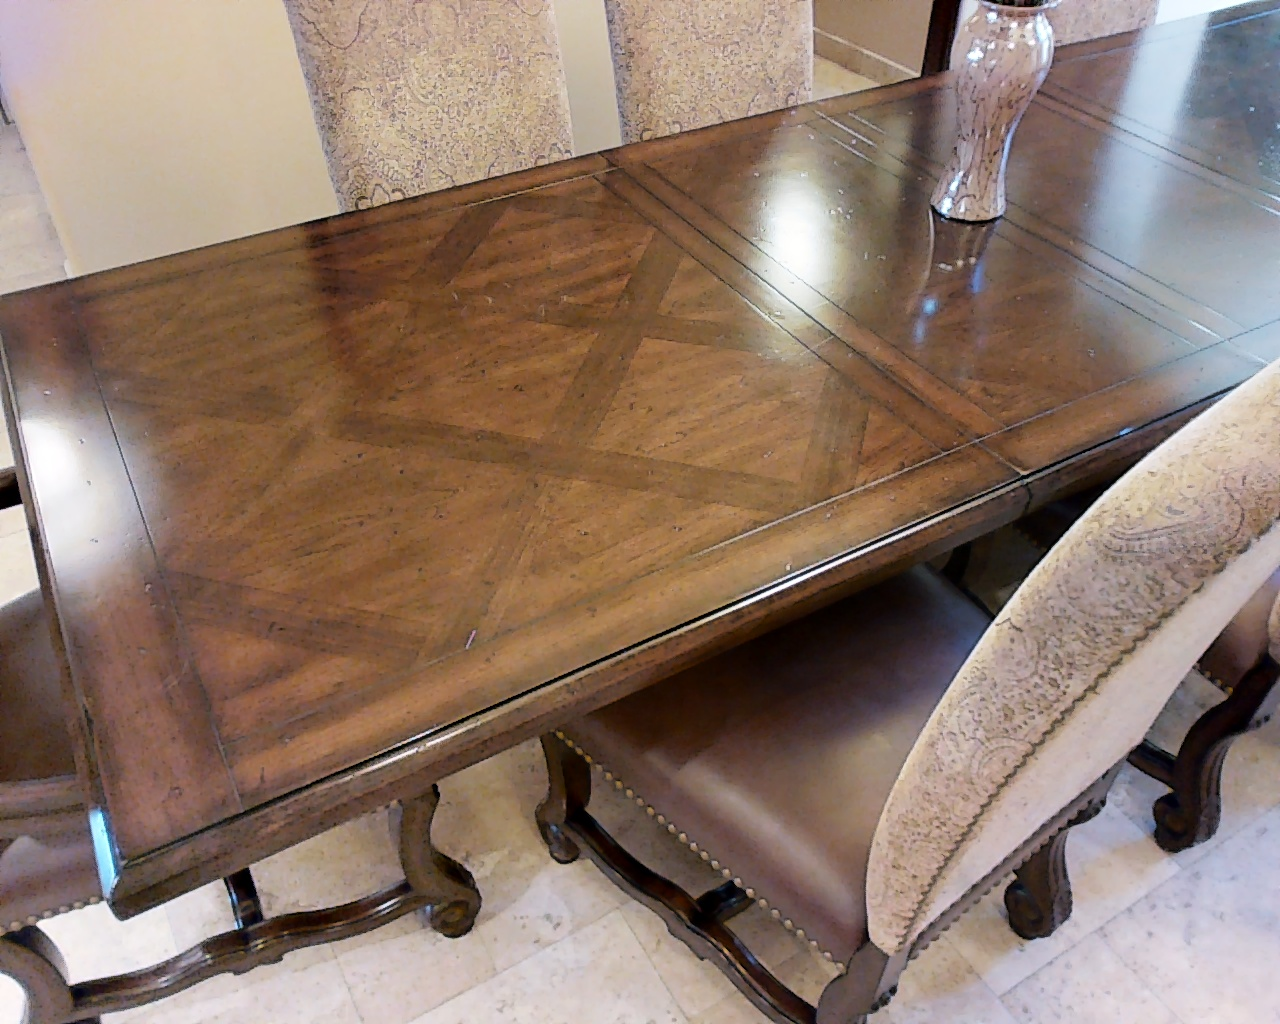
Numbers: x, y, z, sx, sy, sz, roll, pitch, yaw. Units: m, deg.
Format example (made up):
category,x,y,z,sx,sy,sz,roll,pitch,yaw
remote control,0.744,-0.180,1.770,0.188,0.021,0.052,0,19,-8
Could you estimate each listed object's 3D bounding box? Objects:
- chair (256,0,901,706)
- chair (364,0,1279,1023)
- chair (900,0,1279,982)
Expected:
category,x,y,z,sx,sy,sz,roll,pitch,yaw
chair,-0.160,-0.470,1.940,0.640,1.200,0.920,-22,46,-22
chair,0.330,0.120,1.220,0.790,1.200,0.820,-25,47,-24
chair,1.040,-0.140,1.530,0.820,1.260,0.760,-20,46,-21
